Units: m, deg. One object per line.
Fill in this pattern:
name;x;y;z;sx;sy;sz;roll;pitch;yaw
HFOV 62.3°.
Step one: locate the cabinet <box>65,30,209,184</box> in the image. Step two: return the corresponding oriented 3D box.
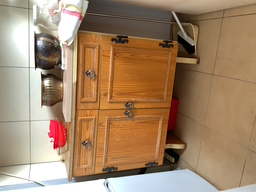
cabinet;0.020;0.050;1.420;0.370;0.800;0.840;-146;59;-65
